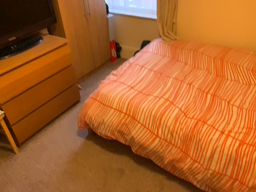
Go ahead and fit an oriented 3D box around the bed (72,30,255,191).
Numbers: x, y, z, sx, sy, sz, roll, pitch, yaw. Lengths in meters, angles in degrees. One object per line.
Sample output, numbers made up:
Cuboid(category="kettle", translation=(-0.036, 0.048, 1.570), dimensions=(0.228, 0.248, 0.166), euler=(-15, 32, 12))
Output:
Cuboid(category="bed", translation=(0.890, 0.060, 1.970), dimensions=(2.150, 0.510, 1.620), euler=(19, 42, 26))
